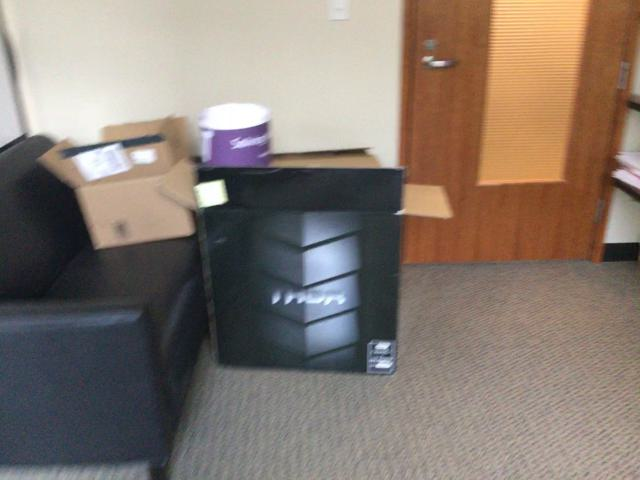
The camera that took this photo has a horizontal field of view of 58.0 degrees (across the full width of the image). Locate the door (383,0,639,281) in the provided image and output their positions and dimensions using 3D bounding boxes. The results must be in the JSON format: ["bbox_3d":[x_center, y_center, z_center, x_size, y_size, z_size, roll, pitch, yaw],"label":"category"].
[{"bbox_3d":[0.830,-0.950,2.280,0.970,2.360,0.270,1,25,-1],"label":"door"}]

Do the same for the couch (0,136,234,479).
[{"bbox_3d":[-0.810,0.120,1.860,0.890,0.640,1.180,1,22,-1],"label":"couch"}]
